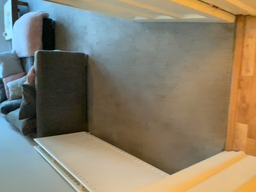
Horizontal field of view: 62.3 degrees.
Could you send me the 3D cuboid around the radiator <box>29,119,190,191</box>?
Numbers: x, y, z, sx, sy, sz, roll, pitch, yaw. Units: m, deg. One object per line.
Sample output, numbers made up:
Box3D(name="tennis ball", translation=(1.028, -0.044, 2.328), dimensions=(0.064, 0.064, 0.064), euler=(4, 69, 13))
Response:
Box3D(name="radiator", translation=(-0.320, 0.540, 2.000), dimensions=(1.590, 0.730, 0.150), euler=(15, 105, 49))
